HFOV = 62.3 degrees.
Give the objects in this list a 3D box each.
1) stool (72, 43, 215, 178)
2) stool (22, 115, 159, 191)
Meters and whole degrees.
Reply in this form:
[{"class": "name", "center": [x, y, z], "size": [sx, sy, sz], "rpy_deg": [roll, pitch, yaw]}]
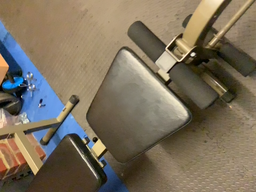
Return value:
[{"class": "stool", "center": [0.100, 0.040, 0.950], "size": [0.340, 0.490, 0.330], "rpy_deg": [48, 114, 19]}, {"class": "stool", "center": [-0.220, 0.450, 1.160], "size": [0.280, 0.500, 0.620], "rpy_deg": [48, 114, 19]}]
